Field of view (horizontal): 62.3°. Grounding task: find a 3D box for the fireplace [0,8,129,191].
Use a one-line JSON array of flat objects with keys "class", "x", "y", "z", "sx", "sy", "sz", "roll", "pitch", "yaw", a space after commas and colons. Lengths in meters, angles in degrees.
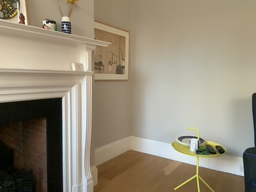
[{"class": "fireplace", "x": -0.850, "y": 0.280, "z": 1.370, "sx": 1.000, "sy": 1.380, "sz": 1.570, "roll": 4, "pitch": 6, "yaw": 33}]
